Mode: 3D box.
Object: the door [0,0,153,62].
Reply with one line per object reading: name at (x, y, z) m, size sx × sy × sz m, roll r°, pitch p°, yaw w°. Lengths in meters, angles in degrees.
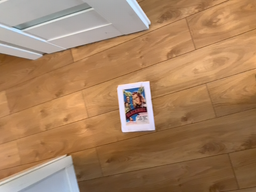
door at (-0.530, -0.340, 0.460) m, size 0.750 × 2.210 × 0.080 m, roll -7°, pitch 88°, yaw 18°
